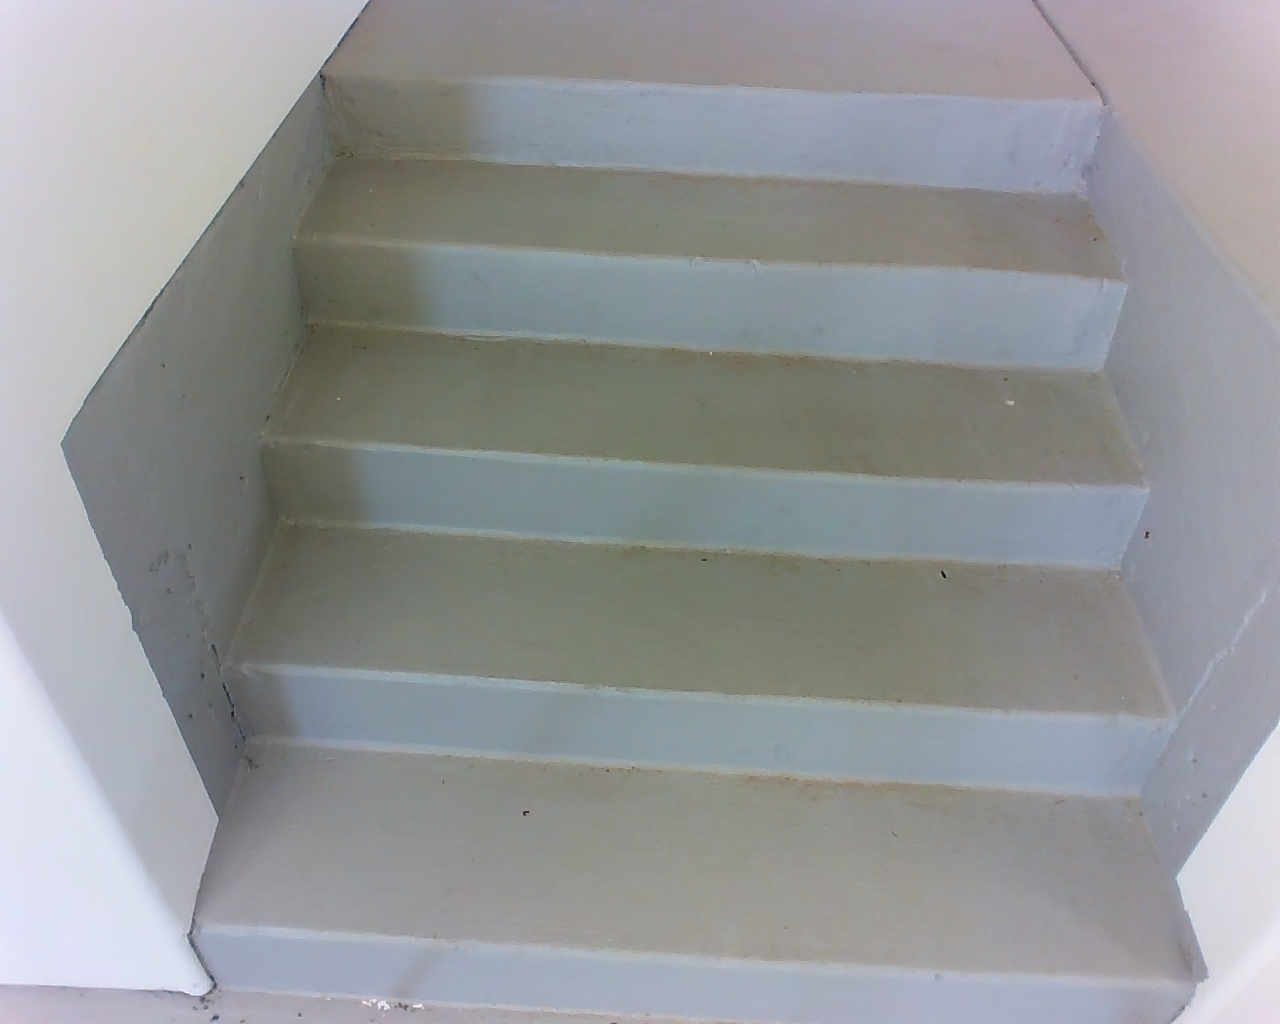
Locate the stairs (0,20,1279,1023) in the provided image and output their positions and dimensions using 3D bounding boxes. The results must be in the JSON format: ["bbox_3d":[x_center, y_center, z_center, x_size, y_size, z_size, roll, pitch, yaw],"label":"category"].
[{"bbox_3d":[0.140,-0.030,1.710,1.440,0.950,1.390,3,42,1],"label":"stairs"}]
